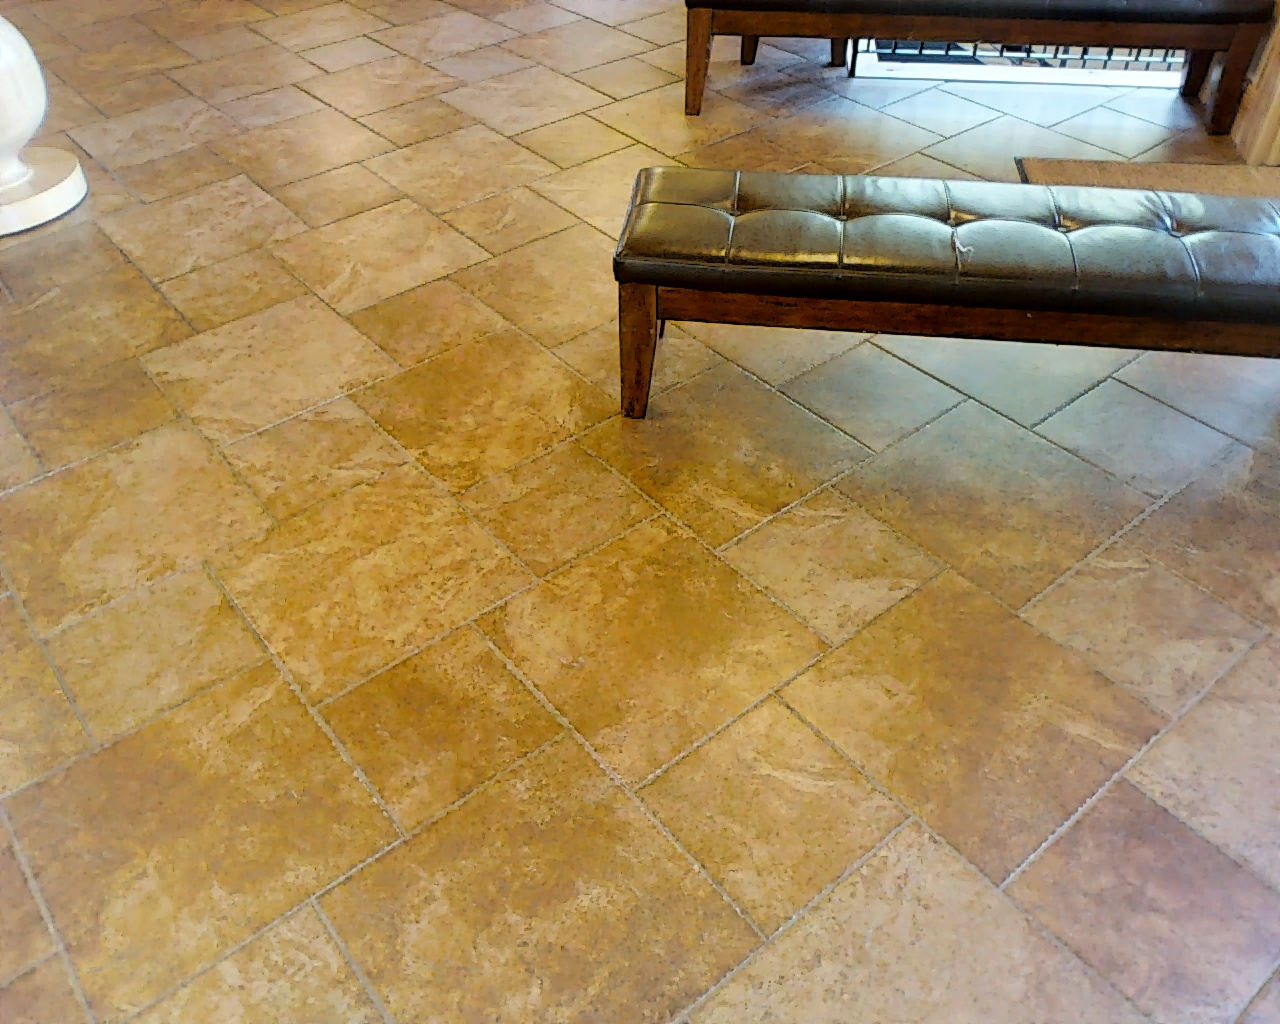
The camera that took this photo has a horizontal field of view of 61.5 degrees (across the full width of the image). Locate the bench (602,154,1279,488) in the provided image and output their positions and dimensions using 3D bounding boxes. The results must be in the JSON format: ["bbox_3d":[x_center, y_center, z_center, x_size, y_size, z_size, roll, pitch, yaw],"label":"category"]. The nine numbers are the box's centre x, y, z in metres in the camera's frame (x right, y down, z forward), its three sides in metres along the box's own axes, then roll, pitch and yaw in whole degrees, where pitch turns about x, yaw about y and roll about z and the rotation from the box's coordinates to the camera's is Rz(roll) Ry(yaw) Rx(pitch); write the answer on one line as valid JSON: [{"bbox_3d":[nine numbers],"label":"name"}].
[{"bbox_3d":[0.960,-0.450,2.520,2.020,0.470,0.520,5,42,7],"label":"bench"}]

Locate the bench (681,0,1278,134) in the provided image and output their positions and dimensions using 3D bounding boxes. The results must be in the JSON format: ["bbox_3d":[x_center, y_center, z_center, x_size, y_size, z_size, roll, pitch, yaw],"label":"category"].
[{"bbox_3d":[1.140,-1.730,3.920,1.940,0.450,0.530,3,42,5],"label":"bench"}]
